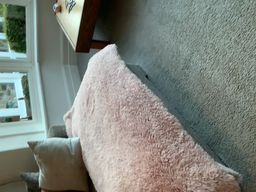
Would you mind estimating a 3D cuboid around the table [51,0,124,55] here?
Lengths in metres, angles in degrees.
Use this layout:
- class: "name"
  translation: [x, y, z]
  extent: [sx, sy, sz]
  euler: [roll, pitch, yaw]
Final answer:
- class: "table"
  translation: [-0.390, -0.960, 1.950]
  extent: [0.820, 0.340, 0.820]
  euler: [55, 135, 40]
